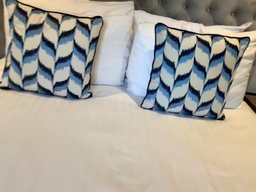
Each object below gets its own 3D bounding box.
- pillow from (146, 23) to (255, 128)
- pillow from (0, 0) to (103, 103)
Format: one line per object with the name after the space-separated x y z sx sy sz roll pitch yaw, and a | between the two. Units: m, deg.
0.320 -0.100 1.020 0.380 0.410 0.180 9 21 -2 | pillow
-0.350 -0.200 0.980 0.400 0.380 0.170 10 10 -5 | pillow
